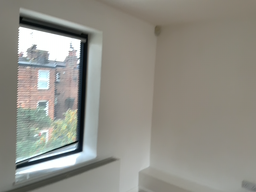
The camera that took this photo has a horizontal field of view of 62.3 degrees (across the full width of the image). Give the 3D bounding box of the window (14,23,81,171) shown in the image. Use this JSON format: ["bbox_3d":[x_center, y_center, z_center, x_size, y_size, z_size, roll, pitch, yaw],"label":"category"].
[{"bbox_3d":[-0.820,0.020,2.230,0.050,1.370,0.680,7,5,39],"label":"window"}]
